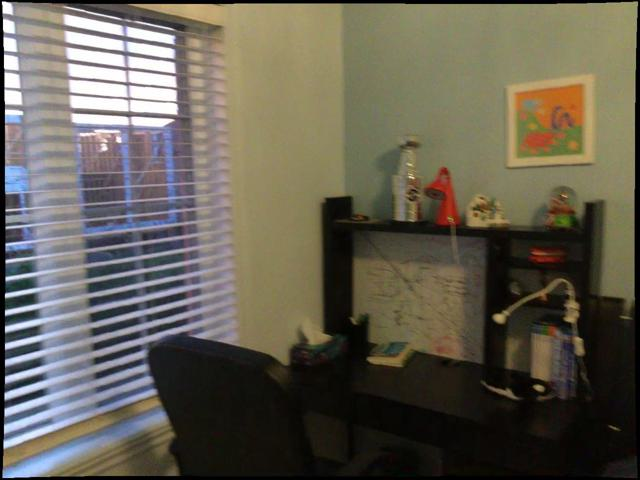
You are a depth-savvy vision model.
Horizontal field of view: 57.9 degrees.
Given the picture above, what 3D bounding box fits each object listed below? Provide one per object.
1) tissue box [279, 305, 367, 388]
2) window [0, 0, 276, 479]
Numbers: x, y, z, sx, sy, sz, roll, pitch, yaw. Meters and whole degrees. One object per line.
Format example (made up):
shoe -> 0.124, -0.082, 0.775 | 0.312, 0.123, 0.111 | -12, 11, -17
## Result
tissue box -> 0.020, 0.410, 2.300 | 0.180, 0.210, 0.340 | 5, 11, 35
window -> -0.689, -0.060, 1.630 | 0.280, 1.381, 1.340 | 5, 11, 35
